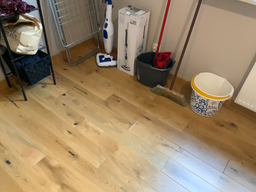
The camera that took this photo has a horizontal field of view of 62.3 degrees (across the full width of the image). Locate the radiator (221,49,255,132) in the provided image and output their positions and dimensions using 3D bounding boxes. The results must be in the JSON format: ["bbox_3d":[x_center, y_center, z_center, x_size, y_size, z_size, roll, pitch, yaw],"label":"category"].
[{"bbox_3d":[1.100,-0.020,1.580,0.520,0.730,0.120,30,47,24],"label":"radiator"}]
